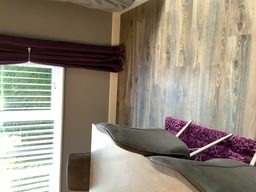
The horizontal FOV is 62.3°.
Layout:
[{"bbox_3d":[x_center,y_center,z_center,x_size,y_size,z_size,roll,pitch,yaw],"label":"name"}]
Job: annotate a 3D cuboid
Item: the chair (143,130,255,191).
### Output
[{"bbox_3d":[0.560,0.510,1.010,0.420,0.910,0.540,11,100,59],"label":"chair"}]
